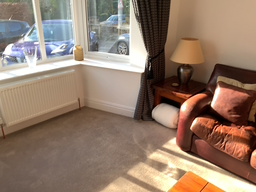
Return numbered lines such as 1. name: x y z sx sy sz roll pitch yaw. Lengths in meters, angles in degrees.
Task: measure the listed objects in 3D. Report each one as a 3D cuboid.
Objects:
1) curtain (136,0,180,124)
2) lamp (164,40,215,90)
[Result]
1. curtain: 0.390 -0.750 2.730 0.160 2.280 0.570 22 31 40
2. lamp: 0.820 -0.440 2.860 0.430 0.520 0.470 22 31 39
